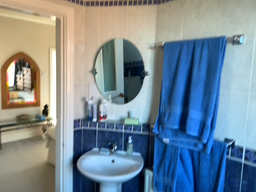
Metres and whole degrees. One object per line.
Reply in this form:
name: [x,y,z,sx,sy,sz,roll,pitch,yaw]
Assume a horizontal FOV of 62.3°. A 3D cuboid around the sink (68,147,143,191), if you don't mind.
sink: [-0.170,0.610,1.800,0.560,0.200,0.320,4,7,10]
